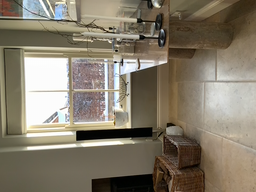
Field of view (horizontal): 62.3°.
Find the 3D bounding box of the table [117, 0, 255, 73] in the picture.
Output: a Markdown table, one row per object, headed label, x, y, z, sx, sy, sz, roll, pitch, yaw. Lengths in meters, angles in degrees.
| label | x | y | z | sx | sy | sz | roll | pitch | yaw |
| --- | --- | --- | --- | --- | --- | --- | --- | --- | --- |
| table | 0.410 | -0.550 | 2.110 | 1.620 | 0.770 | 0.570 | -164 | 74 | -77 |
